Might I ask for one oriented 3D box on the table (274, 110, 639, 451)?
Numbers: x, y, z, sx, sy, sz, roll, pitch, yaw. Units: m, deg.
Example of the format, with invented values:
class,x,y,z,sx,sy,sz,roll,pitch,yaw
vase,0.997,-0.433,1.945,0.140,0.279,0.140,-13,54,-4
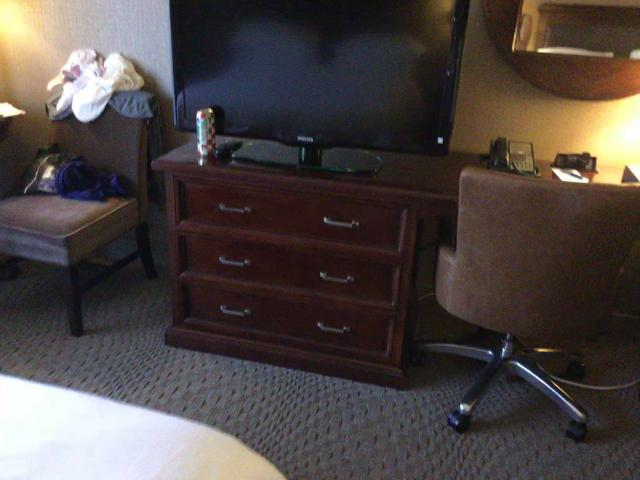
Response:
class,x,y,z,sx,sy,sz,roll,pitch,yaw
table,1.020,0.100,2.100,2.180,0.860,0.900,7,20,12
